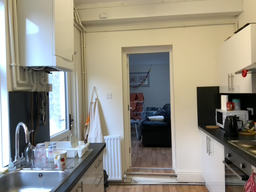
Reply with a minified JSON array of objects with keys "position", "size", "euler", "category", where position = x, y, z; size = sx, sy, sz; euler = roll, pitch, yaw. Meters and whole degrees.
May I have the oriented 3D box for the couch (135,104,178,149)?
[{"position":[0.800,0.730,5.790],"size":[0.970,0.930,1.730],"euler":[-1,1,9],"category":"couch"}]
